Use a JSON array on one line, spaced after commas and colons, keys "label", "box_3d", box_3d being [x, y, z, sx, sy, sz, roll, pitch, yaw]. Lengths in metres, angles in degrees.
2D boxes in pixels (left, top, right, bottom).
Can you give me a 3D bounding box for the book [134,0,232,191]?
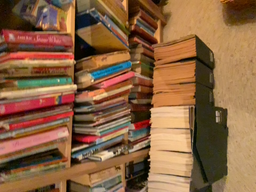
[{"label": "book", "box_3d": [0.270, 0.380, 1.020, 0.370, 0.320, 1.540, -2, 84, 34]}]
